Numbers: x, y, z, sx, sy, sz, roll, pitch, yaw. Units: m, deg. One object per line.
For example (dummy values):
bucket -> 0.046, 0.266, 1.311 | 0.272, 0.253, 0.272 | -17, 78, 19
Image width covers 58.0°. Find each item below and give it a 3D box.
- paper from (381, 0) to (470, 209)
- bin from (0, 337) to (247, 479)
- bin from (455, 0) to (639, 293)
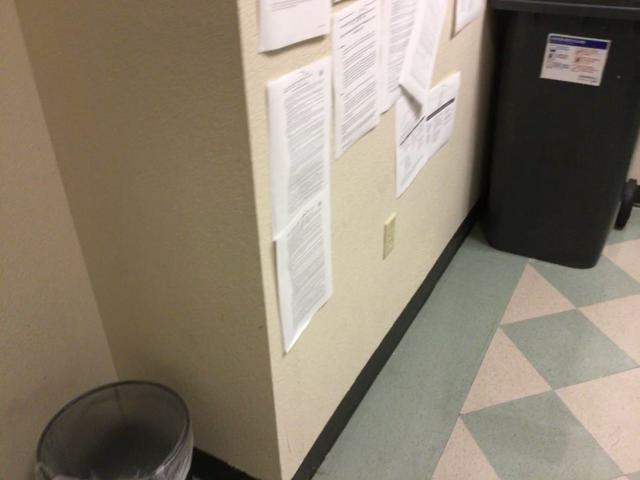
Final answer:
paper -> 0.280, -0.420, 1.490 | 0.030, 0.530, 0.480 | 16, 37, 26
bin -> -0.430, 0.520, 1.280 | 0.380, 0.370, 0.350 | 16, 37, 26
bin -> 0.930, -0.490, 2.110 | 0.560, 1.030, 0.710 | 16, 37, 26
